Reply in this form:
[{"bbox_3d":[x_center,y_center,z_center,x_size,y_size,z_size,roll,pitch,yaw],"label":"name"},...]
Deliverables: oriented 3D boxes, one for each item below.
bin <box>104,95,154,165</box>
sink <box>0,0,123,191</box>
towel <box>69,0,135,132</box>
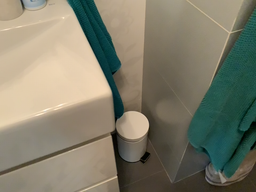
[{"bbox_3d":[0.000,0.190,1.170,0.180,0.280,0.230,-15,51,-12],"label":"bin"},{"bbox_3d":[-0.450,0.020,0.490,0.760,0.180,0.440,-19,52,-15],"label":"sink"},{"bbox_3d":[-0.080,-0.140,0.740,0.140,0.640,0.190,-17,51,-13],"label":"towel"}]
